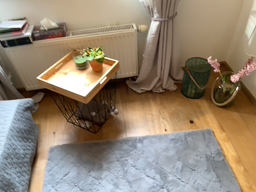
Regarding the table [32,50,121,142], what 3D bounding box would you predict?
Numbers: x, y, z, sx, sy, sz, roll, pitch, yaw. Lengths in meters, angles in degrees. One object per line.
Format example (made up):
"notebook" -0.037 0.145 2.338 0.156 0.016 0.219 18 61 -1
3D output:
"table" -0.340 -0.010 1.610 0.420 0.460 0.410 15 48 18
